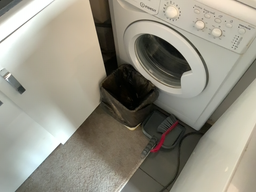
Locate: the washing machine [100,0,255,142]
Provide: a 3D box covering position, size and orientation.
[{"bbox_3d":[0.270,-0.260,1.040,0.590,0.900,0.460,35,68,18],"label":"washing machine"}]
